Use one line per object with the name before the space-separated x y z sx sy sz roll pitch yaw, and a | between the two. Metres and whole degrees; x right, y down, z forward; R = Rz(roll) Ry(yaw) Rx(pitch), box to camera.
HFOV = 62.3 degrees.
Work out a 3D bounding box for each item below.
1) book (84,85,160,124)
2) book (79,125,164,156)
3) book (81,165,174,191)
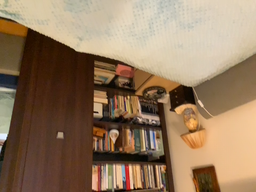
book | -0.060 0.120 2.380 0.800 0.260 0.260 10 153 -25
book | -0.060 0.490 2.250 0.830 0.210 0.320 10 153 -25
book | 0.010 0.810 2.080 0.870 0.210 0.240 10 153 -25
